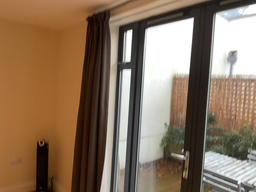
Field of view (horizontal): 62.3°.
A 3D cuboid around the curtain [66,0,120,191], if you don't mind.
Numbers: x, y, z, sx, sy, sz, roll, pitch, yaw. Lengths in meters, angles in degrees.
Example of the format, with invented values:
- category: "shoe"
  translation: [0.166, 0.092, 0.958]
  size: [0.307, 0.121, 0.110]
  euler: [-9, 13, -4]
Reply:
- category: "curtain"
  translation: [-0.390, 0.330, 2.180]
  size: [0.250, 2.430, 0.480]
  euler: [1, 4, -39]
